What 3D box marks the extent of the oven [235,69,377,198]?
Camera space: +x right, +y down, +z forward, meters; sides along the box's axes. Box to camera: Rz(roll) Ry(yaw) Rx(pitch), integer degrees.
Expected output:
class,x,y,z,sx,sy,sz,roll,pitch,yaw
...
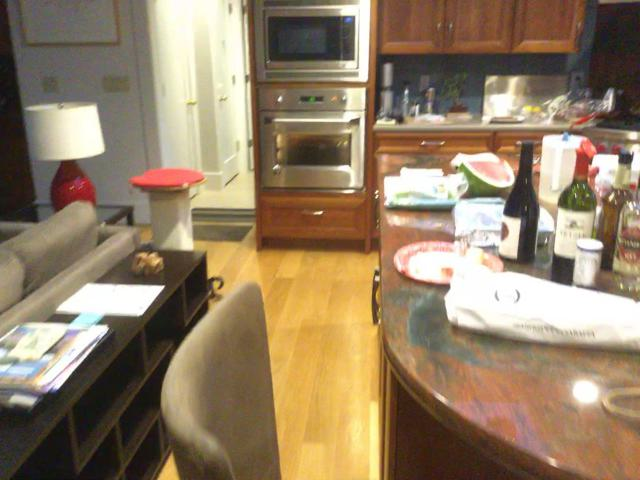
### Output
class,x,y,z,sx,sy,sz,roll,pitch,yaw
oven,-0.070,-0.680,3.680,0.840,0.760,0.280,1,20,7

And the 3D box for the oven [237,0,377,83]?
class,x,y,z,sx,sy,sz,roll,pitch,yaw
oven,-0.070,-1.250,3.470,0.810,0.580,0.140,1,20,7
